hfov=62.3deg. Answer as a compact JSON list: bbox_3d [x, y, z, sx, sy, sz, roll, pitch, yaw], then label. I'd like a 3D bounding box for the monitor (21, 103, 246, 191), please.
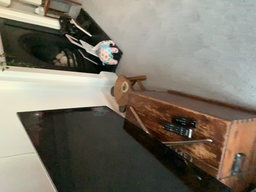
[{"bbox_3d":[-0.070,0.220,0.950,0.910,0.590,0.040,28,115,50],"label":"monitor"}]

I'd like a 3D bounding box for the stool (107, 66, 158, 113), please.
[{"bbox_3d":[0.030,-0.050,1.810,0.270,0.250,0.280,52,127,39],"label":"stool"}]
